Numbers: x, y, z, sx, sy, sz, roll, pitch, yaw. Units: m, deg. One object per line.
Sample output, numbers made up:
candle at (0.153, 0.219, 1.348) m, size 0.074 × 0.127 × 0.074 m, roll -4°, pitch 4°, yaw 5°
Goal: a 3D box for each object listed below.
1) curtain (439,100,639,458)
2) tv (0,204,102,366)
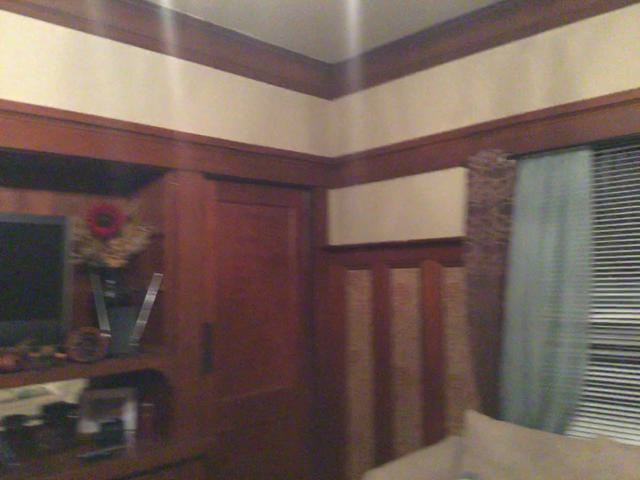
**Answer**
curtain at (1.260, 0.130, 2.100) m, size 0.240 × 1.270 × 1.800 m, roll 6°, pitch -9°, yaw -43°
tv at (-1.330, 0.180, 2.310) m, size 0.790 × 0.620 × 0.260 m, roll 6°, pitch -9°, yaw -43°
